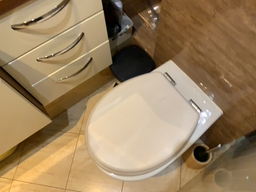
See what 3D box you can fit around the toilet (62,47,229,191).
[{"bbox_3d":[0.070,0.150,1.010,0.520,0.430,0.370,-35,71,-13],"label":"toilet"}]
